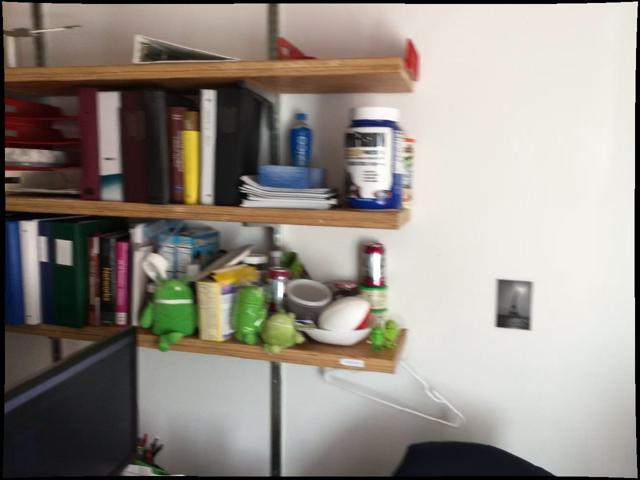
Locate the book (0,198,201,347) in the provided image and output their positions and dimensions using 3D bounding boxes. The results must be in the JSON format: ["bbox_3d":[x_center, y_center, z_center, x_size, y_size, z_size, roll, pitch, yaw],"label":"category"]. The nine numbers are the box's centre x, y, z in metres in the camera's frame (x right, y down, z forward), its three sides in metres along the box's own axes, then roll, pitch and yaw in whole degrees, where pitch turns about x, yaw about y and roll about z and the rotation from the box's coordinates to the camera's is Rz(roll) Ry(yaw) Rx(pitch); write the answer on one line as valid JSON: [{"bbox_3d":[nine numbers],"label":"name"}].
[{"bbox_3d":[-0.679,0.070,1.680,0.579,0.340,0.300,3,9,12],"label":"book"}]

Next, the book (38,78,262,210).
[{"bbox_3d":[-0.450,-0.260,1.550,0.569,0.320,0.140,3,9,12],"label":"book"}]
